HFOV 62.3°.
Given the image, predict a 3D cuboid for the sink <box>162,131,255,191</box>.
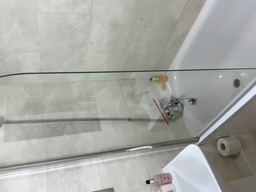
[{"bbox_3d":[0.440,0.550,1.130,0.440,0.190,0.560,112,148,-50],"label":"sink"}]
